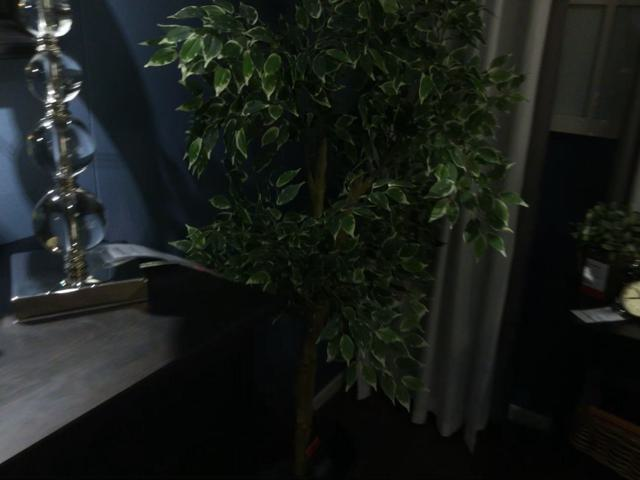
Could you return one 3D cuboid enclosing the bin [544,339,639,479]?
[{"bbox_3d":[0.830,0.480,1.450,0.400,0.250,0.320,13,24,38],"label":"bin"}]
